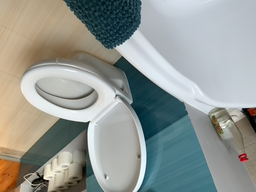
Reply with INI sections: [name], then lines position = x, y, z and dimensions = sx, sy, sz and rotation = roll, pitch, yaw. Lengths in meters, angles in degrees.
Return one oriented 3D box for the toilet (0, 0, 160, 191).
[toilet]
position = -0.250, 0.020, 1.000
dimensions = 0.520, 0.810, 0.370
rotation = 25, 129, -36
